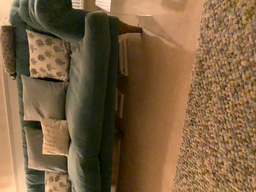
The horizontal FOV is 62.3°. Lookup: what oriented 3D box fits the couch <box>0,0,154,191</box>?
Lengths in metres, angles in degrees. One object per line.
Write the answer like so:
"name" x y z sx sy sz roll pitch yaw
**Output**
"couch" -0.570 0.300 2.060 1.310 0.890 2.350 -146 55 -59
